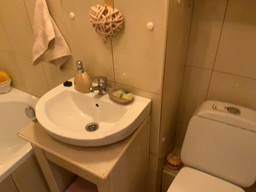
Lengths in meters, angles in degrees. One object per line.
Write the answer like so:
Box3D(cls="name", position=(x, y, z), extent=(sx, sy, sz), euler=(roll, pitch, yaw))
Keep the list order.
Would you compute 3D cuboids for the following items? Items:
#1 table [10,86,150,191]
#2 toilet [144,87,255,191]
Box3D(cls="table", position=(-0.200, 0.420, 1.180), extent=(0.500, 0.760, 0.380), euler=(18, 40, 25))
Box3D(cls="toilet", position=(0.380, 0.490, 1.050), extent=(0.370, 0.770, 0.670), euler=(17, 39, 24))
